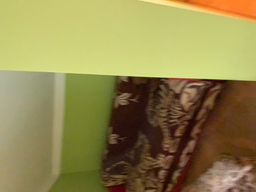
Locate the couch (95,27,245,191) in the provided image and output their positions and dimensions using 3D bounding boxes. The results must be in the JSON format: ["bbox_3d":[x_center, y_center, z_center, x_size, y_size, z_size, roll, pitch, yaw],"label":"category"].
[{"bbox_3d":[0.210,0.430,2.390,1.050,0.730,2.060,-124,40,-55],"label":"couch"}]
